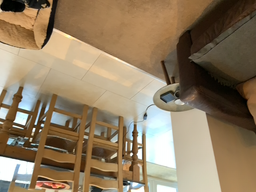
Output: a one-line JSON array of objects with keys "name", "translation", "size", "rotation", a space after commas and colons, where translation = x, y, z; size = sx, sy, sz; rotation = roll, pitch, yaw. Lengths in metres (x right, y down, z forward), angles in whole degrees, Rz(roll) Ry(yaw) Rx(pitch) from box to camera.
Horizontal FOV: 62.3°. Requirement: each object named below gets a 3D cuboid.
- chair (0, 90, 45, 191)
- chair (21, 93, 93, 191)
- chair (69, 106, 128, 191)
[{"name": "chair", "translation": [-1.310, 0.530, 2.290], "size": [0.470, 1.010, 0.460], "rotation": [20, 141, -26]}, {"name": "chair", "translation": [-0.750, 0.570, 2.320], "size": [0.460, 1.010, 0.470], "rotation": [21, 141, -26]}, {"name": "chair", "translation": [-0.330, 0.720, 2.530], "size": [0.460, 1.010, 0.470], "rotation": [21, 141, -26]}]
